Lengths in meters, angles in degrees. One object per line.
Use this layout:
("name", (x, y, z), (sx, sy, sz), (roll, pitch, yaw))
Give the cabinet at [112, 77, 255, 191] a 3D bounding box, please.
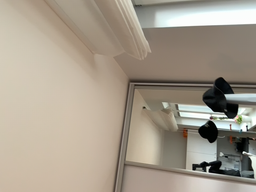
("cabinet", (1.240, 0.840, 2.210), (0.680, 2.640, 1.860), (49, -133, -65))
